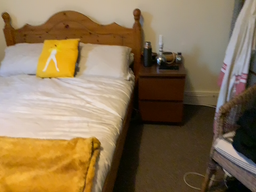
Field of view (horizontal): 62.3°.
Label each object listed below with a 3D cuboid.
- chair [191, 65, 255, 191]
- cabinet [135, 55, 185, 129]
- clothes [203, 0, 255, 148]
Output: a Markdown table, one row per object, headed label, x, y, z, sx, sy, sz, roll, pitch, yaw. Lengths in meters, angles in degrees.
| label | x | y | z | sx | sy | sz | roll | pitch | yaw |
| --- | --- | --- | --- | --- | --- | --- | --- | --- | --- |
| chair | 0.790 | 0.300 | 1.090 | 0.570 | 0.780 | 0.580 | -13 | 28 | -23 |
| cabinet | 0.300 | -0.060 | 2.140 | 0.410 | 0.570 | 0.520 | 2 | 25 | 6 |
| clothes | 0.800 | -0.170 | 1.650 | 0.200 | 1.140 | 0.360 | 2 | 25 | 5 |
